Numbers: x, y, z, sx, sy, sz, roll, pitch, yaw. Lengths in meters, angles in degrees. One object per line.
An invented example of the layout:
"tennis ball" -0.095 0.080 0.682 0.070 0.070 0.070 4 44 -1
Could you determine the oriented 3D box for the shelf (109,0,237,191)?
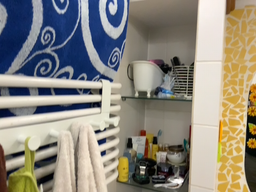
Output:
"shelf" 0.200 0.160 0.890 0.400 1.170 0.390 3 3 26
